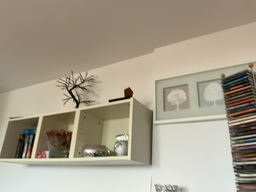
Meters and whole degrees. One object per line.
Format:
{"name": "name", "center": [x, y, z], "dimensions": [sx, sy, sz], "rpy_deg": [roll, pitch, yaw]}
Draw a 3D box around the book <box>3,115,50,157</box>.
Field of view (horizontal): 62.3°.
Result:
{"name": "book", "center": [-0.860, 0.350, 1.810], "dimensions": [0.260, 0.310, 0.190], "rpy_deg": [-10, -25, 30]}
